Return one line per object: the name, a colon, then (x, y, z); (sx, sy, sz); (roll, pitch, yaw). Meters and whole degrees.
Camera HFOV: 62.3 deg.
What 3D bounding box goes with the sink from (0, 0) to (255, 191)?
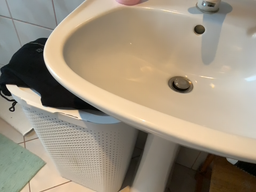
sink: (0.130, -0.050, 0.480); (0.570, 0.190, 0.430); (17, 47, 11)
